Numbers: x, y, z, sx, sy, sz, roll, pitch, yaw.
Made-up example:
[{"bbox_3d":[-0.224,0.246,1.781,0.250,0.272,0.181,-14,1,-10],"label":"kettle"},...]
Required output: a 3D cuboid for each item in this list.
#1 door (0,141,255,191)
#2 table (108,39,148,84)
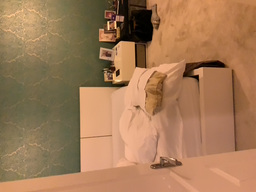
[{"bbox_3d":[0.240,0.360,0.670,0.860,2.000,0.040,-164,74,-69],"label":"door"},{"bbox_3d":[-0.020,-0.530,3.490,0.600,0.450,0.610,175,94,-69],"label":"table"}]
